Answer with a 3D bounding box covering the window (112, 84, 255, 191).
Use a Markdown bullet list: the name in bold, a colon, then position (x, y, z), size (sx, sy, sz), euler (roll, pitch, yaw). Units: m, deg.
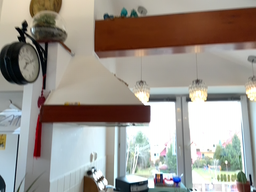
- **window**: position (0.720, 0.640, 2.900), size (1.860, 1.590, 0.130), euler (-1, -10, 6)
